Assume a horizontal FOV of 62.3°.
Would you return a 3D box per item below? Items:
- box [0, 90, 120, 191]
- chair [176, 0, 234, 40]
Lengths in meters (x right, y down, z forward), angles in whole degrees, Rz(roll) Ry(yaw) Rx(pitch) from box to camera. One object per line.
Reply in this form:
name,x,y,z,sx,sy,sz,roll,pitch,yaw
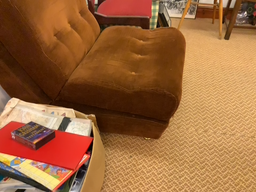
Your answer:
box,-0.410,0.340,0.930,0.620,0.360,0.560,10,43,9
chair,0.780,-1.080,2.120,0.440,0.820,0.530,7,42,6
